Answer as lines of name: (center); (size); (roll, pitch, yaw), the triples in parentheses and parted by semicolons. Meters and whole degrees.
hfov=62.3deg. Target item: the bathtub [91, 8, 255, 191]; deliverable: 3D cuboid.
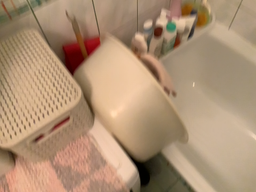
bathtub: (0.610, 0.380, 0.990); (0.670, 0.580, 1.620); (-36, 64, -17)

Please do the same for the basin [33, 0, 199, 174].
basin: (-0.050, -0.020, 0.710); (0.180, 0.390, 0.460); (-37, 65, -18)
